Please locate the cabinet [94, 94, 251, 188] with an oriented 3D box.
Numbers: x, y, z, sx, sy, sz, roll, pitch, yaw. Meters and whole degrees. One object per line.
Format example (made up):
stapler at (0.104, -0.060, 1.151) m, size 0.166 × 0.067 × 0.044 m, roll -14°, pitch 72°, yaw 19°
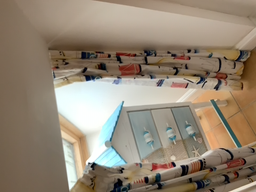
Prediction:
cabinet at (0.300, 0.230, 1.320) m, size 0.200 × 0.930 × 0.390 m, roll -51°, pitch 50°, yaw 52°
